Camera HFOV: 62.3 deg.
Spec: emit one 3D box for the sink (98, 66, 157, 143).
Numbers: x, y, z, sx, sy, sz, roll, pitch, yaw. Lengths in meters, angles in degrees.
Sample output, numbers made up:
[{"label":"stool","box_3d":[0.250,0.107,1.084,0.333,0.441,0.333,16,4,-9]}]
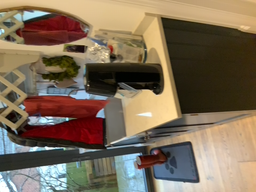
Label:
[{"label":"sink","box_3d":[-0.040,0.110,2.040,0.600,0.280,0.570,140,125,-60]}]
